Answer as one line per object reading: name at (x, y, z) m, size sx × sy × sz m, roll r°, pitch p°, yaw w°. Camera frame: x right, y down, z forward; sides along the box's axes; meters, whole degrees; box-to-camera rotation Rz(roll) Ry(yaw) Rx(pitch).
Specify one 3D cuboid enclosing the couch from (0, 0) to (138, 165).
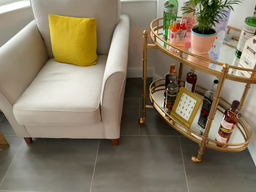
couch at (-0.410, -0.230, 1.620) m, size 0.890 × 0.910 × 1.040 m, roll 3°, pitch 40°, yaw 6°
